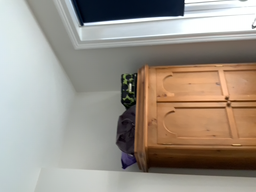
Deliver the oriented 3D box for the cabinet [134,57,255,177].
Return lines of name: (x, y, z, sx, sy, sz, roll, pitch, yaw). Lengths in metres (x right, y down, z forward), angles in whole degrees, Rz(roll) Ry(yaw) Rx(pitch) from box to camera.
cabinet: (1.120, 0.220, 2.270, 0.640, 2.000, 1.090, 76, -165, -55)
